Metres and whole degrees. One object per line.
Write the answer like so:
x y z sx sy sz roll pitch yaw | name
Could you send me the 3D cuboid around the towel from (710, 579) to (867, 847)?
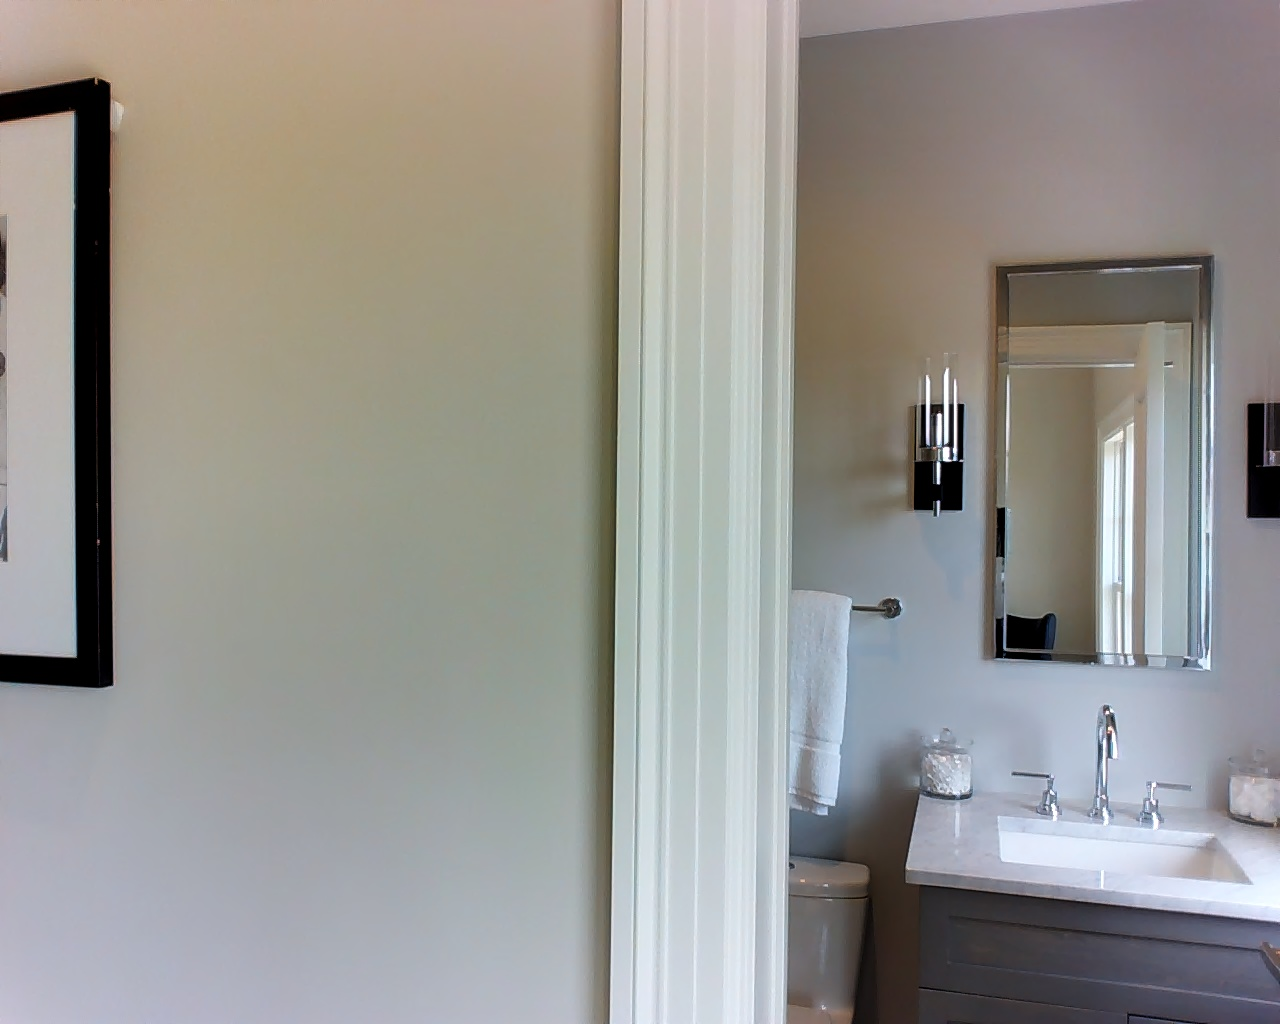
0.360 0.470 2.600 0.350 0.600 0.150 1 0 18 | towel
